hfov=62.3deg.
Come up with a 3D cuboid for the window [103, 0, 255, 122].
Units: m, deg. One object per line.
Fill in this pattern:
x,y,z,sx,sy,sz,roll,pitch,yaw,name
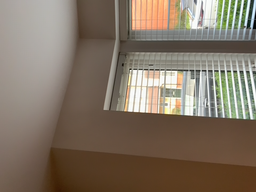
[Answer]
0.540,-0.990,1.430,0.600,1.320,2.220,-62,-27,-69,window
